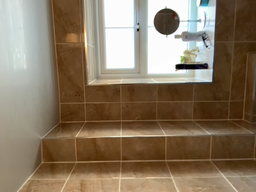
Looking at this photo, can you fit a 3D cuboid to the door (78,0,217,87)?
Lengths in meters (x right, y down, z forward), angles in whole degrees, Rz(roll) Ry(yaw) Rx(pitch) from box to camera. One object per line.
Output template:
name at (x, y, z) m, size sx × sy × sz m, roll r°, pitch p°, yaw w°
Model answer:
door at (0.140, -0.580, 1.690) m, size 0.360 × 0.980 × 0.960 m, roll -98°, pitch 7°, yaw -81°
